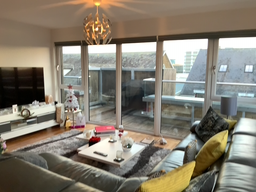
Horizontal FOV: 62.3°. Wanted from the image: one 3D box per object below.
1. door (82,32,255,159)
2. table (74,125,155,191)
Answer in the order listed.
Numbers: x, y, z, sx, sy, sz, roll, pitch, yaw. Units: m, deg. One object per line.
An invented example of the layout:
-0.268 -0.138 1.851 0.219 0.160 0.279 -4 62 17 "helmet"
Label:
0.610 -0.110 4.430 3.860 2.160 0.080 5 9 28 "door"
-0.360 0.890 3.480 0.980 0.290 1.790 -2 8 -15 "table"
